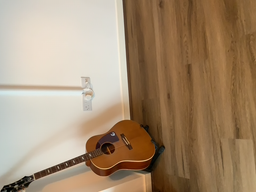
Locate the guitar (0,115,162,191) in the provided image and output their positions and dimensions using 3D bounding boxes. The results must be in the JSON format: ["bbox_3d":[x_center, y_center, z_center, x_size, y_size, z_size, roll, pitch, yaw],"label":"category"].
[{"bbox_3d":[-0.300,0.460,1.530,0.480,1.100,0.360,41,115,33],"label":"guitar"}]
